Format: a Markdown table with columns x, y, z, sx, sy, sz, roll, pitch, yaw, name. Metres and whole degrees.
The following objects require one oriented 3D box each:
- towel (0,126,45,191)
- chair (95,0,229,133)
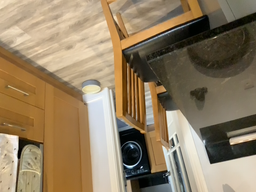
| x | y | z | sx | sy | sz | roll | pitch | yaw | name |
| --- | --- | --- | --- | --- | --- | --- | --- | --- | --- |
| -0.730 | 0.470 | 1.340 | 0.090 | 0.490 | 0.450 | -18 | 153 | 18 | towel |
| 0.140 | -0.330 | 1.160 | 0.480 | 0.910 | 0.370 | -18 | 153 | 18 | chair |
